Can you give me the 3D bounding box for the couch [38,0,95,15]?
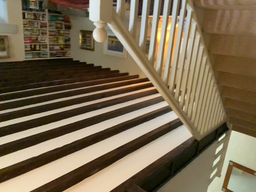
[{"bbox_3d":[-1.880,-2.960,6.450,1.400,0.790,0.980,14,-160,29],"label":"couch"}]
